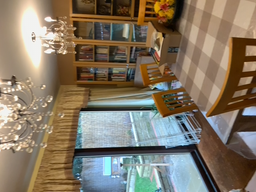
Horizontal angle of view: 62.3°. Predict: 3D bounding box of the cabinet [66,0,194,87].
[{"bbox_3d":[0.030,-1.350,3.540,0.290,2.000,2.590,-104,16,-57],"label":"cabinet"}]
